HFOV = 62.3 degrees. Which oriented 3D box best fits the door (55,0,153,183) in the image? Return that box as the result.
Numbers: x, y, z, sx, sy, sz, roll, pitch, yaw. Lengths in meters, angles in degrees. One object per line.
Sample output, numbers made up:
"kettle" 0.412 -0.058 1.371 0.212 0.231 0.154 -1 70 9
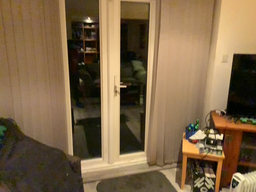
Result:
"door" -0.230 -0.080 2.380 0.980 2.190 0.100 -3 15 -14
